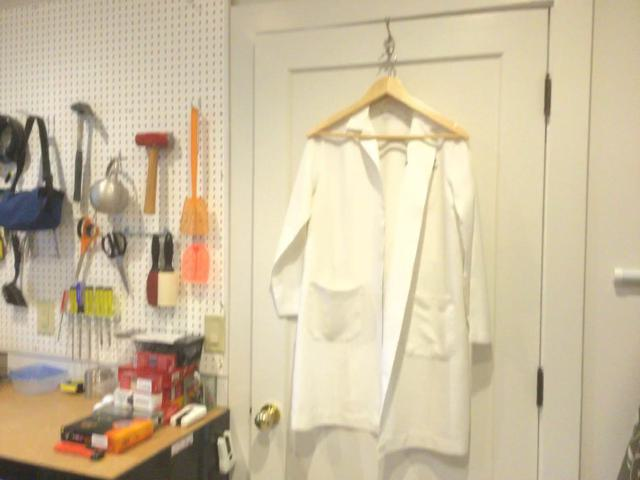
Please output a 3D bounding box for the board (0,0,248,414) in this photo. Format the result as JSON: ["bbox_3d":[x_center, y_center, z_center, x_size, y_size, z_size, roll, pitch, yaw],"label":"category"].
[{"bbox_3d":[-0.940,-0.190,1.910,1.510,1.330,0.090,1,2,20],"label":"board"}]
